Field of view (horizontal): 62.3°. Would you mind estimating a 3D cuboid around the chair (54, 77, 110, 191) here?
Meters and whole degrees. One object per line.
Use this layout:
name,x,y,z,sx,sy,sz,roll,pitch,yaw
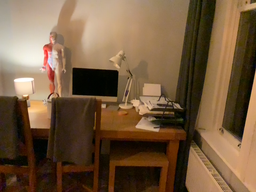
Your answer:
chair,-0.450,0.390,2.090,0.430,1.060,0.600,-1,14,-13
